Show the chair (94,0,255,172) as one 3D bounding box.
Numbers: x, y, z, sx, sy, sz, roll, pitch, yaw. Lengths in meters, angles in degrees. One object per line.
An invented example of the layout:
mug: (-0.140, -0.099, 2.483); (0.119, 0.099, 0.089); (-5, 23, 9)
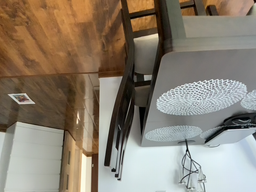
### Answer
chair: (0.170, -0.160, 1.170); (0.590, 1.030, 0.420); (-5, 155, 5)

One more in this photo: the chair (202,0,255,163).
chair: (0.820, -0.230, 1.100); (0.520, 1.030, 0.470); (-1, 155, -3)
